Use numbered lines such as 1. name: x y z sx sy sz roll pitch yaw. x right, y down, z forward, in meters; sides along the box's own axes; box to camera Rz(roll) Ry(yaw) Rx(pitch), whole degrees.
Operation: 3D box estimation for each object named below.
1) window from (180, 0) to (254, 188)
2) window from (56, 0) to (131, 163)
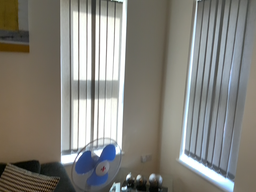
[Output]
1. window: 0.720 -0.040 1.850 0.040 1.520 0.540 -2 11 -27
2. window: -0.320 -0.140 2.030 0.700 1.510 0.040 -3 11 -30
